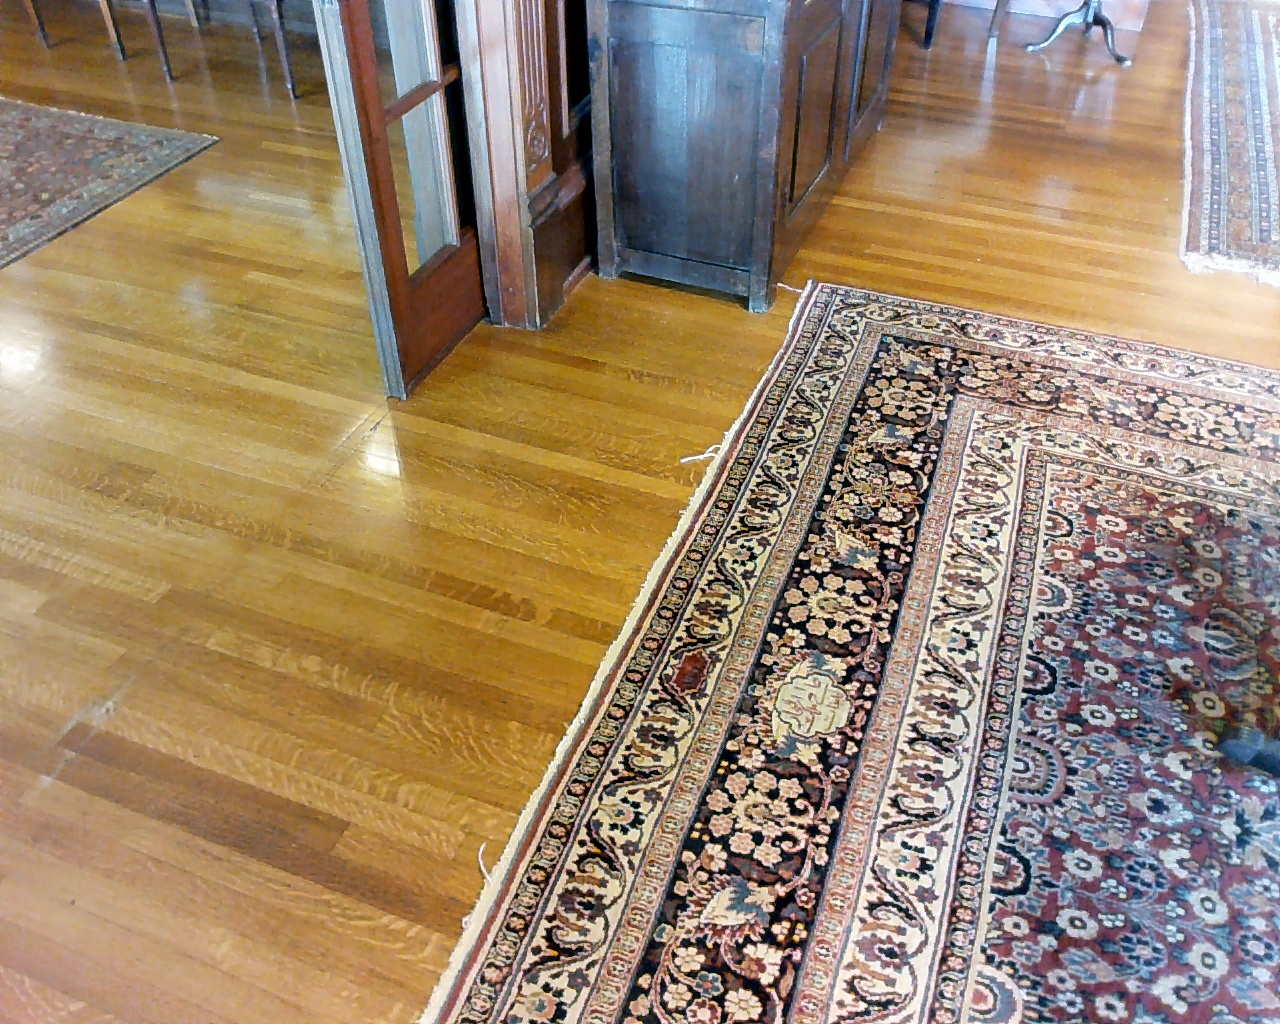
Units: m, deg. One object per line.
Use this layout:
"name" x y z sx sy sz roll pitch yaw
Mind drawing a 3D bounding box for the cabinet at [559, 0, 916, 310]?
"cabinet" 0.400 -1.760 3.120 0.640 1.630 1.640 15 44 16
